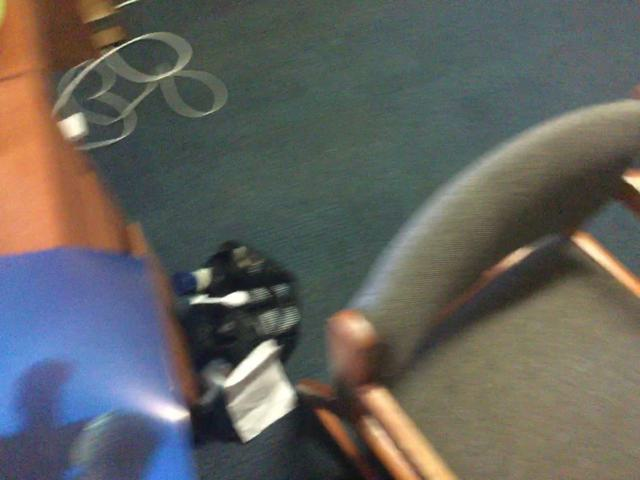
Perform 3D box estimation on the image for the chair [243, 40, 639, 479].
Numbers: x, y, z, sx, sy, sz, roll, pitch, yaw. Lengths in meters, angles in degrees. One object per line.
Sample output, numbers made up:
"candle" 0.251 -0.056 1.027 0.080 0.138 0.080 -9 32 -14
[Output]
"chair" 0.380 0.270 0.860 0.660 0.720 0.620 -34 68 -14
